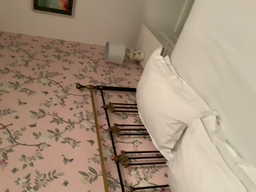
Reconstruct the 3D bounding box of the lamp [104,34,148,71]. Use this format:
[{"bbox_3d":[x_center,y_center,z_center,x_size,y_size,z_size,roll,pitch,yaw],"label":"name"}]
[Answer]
[{"bbox_3d":[-0.030,-0.460,2.260,0.280,0.370,0.240,-112,31,-49],"label":"lamp"}]
